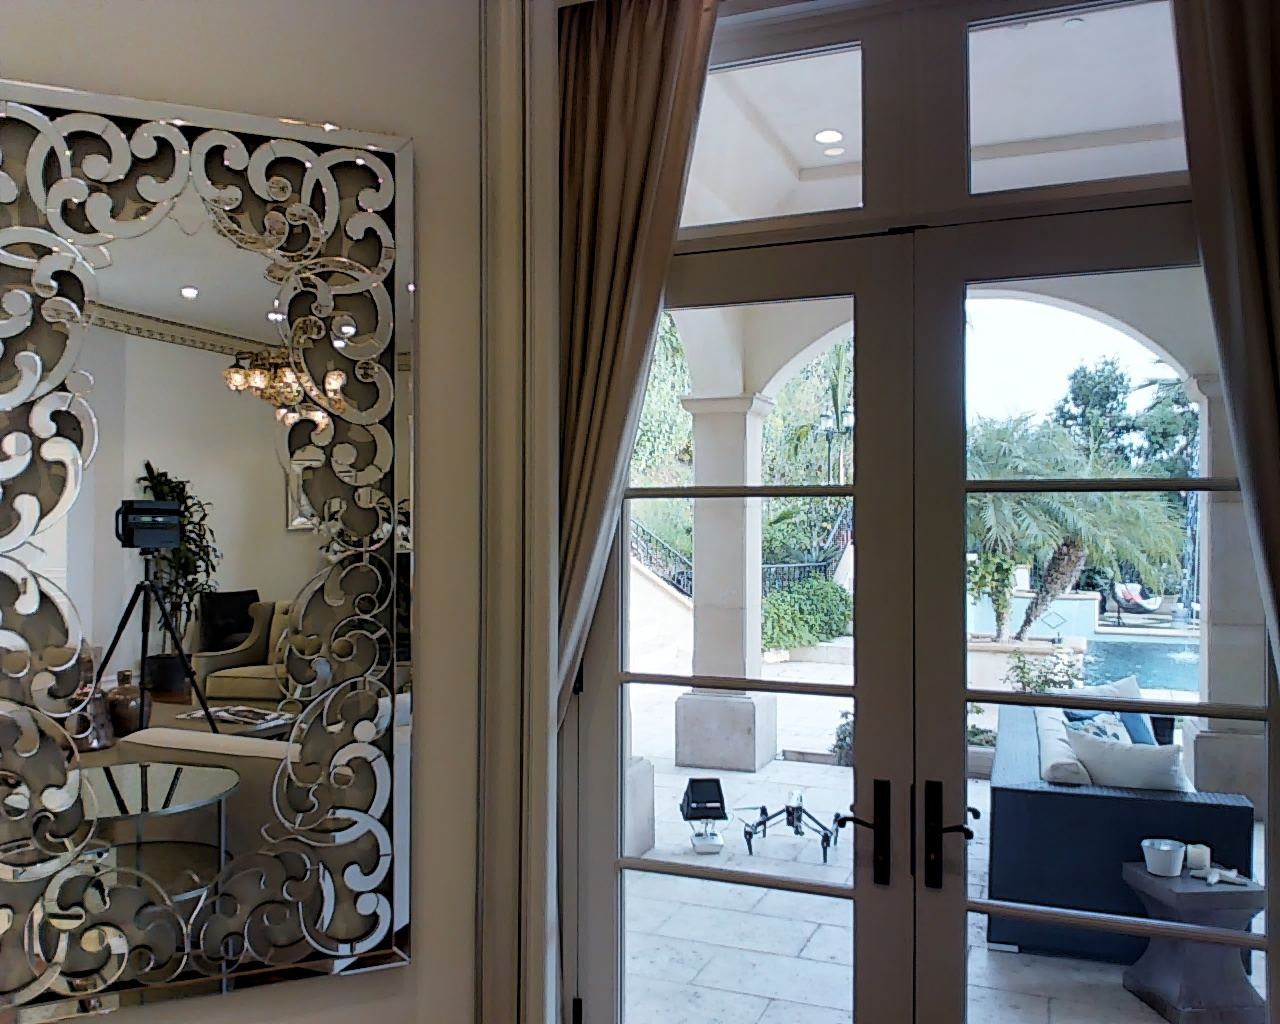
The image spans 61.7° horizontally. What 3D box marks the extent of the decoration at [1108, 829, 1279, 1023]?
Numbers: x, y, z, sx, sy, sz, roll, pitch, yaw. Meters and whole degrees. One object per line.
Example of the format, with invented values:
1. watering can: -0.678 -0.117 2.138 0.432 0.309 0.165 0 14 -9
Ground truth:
1. decoration: 1.999 1.480 3.850 0.440 0.550 0.460 0 -1 1
